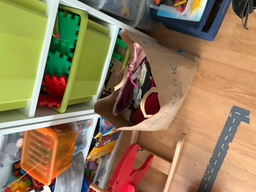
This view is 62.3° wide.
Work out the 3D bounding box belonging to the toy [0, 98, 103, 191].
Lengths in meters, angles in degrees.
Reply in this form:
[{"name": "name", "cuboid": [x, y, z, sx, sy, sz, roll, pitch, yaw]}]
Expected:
[{"name": "toy", "cuboid": [-0.430, 0.420, 0.960, 0.270, 0.310, 0.770, 28, 104, 25]}]
